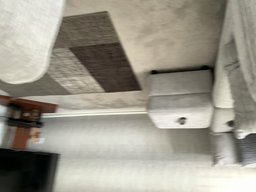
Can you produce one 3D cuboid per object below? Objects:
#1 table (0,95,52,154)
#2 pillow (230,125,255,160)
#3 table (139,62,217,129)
[{"bbox_3d":[-1.610,0.420,3.000,0.870,0.660,0.560,11,157,-21],"label":"table"},{"bbox_3d":[1.170,0.440,1.980,0.330,0.280,0.230,-3,158,14],"label":"pillow"},{"bbox_3d":[0.480,0.040,2.090,0.610,0.430,0.650,-3,158,14],"label":"table"}]
